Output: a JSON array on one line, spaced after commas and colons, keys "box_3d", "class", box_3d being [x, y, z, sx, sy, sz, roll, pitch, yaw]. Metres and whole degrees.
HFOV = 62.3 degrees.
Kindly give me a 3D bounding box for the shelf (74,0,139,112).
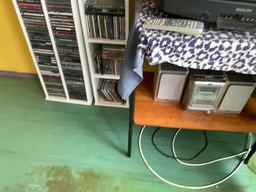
[{"box_3d": [-0.100, -0.350, 1.180, 0.280, 1.020, 0.230, 6, 45, 4], "class": "shelf"}]
